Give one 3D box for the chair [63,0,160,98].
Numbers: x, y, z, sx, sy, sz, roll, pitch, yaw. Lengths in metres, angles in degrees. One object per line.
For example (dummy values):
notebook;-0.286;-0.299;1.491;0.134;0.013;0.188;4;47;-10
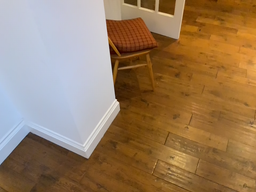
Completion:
chair;-0.120;-0.470;1.630;0.590;0.890;0.340;-14;49;-10
